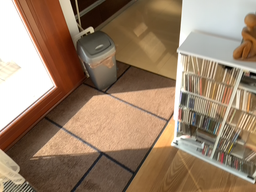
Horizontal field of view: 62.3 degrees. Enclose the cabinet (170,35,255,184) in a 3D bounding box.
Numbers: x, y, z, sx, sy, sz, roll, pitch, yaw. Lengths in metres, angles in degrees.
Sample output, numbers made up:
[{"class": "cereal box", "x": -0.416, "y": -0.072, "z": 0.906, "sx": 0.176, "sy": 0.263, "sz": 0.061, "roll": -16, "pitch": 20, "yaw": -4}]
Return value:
[{"class": "cabinet", "x": 0.580, "y": 0.120, "z": 1.290, "sx": 0.570, "sy": 0.840, "sz": 0.220, "roll": 23, "pitch": 54, "yaw": 27}]
